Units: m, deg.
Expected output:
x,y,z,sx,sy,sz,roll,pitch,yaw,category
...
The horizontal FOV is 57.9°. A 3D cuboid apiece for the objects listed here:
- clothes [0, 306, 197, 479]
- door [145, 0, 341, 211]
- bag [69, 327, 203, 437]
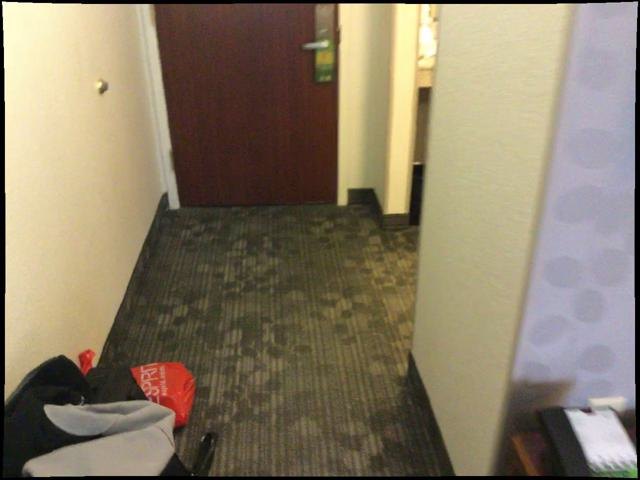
x,y,z,sx,sy,sz,roll,pitch,yaw,category
-0.499,0.420,1.240,0.390,0.250,0.570,-1,31,-5,clothes
-0.360,-1.021,2.800,0.899,1.851,0.140,-1,28,-5,door
-0.559,0.440,1.820,0.340,0.210,0.250,-1,31,-5,bag
